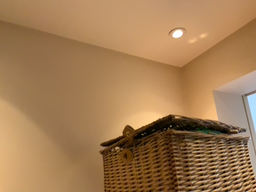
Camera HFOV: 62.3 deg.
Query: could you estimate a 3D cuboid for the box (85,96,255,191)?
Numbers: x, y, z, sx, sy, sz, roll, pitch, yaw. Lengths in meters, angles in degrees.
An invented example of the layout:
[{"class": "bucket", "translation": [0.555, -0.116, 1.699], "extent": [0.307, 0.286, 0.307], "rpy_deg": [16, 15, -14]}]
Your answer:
[{"class": "box", "translation": [0.170, 0.280, 0.890], "extent": [0.520, 0.320, 0.580], "rpy_deg": [9, -23, -28]}]
